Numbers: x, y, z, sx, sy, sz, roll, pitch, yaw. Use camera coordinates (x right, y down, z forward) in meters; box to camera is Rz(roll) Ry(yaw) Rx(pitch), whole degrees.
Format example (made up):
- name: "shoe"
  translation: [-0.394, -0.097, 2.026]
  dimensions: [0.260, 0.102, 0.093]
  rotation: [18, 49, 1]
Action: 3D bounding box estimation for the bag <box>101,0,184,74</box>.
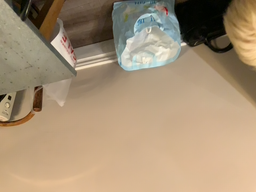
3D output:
- name: "bag"
  translation: [0.100, -0.470, 1.400]
  dimensions: [0.430, 0.450, 0.370]
  rotation: [-10, 149, 13]
